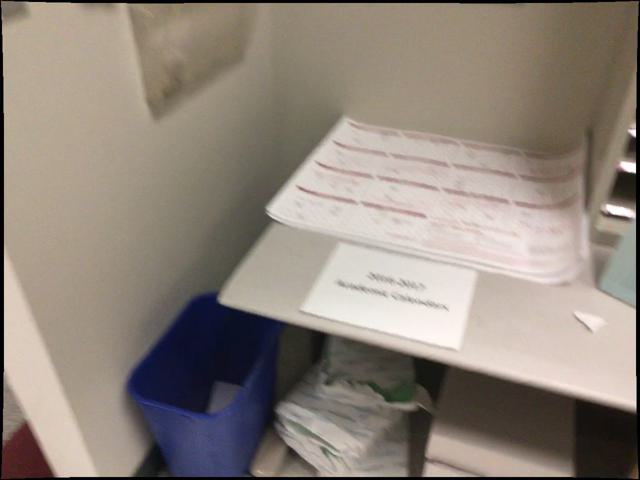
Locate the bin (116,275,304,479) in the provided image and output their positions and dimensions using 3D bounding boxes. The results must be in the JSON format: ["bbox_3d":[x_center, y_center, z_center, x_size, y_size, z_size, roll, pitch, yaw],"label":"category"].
[{"bbox_3d":[-0.239,0.381,1.440,0.260,0.381,0.380,14,41,18],"label":"bin"}]
